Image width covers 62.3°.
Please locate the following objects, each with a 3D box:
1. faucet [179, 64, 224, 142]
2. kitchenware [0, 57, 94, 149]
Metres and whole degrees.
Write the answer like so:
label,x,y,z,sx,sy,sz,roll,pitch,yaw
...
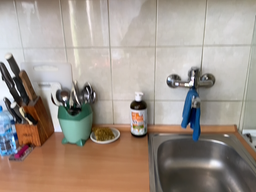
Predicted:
label,x,y,z,sx,sy,sz,roll,pitch,yaw
faucet,0.310,0.030,0.930,0.130,0.320,0.120,-1,19,1
kitchenware,-0.360,0.020,0.940,0.350,0.350,0.220,0,19,4
